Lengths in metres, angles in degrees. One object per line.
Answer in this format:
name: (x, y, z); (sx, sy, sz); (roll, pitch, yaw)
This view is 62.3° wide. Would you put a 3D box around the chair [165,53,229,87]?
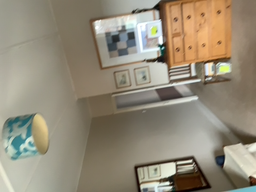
chair: (1.170, -0.460, 3.670); (0.490, 0.910, 0.360); (-102, 3, -71)
